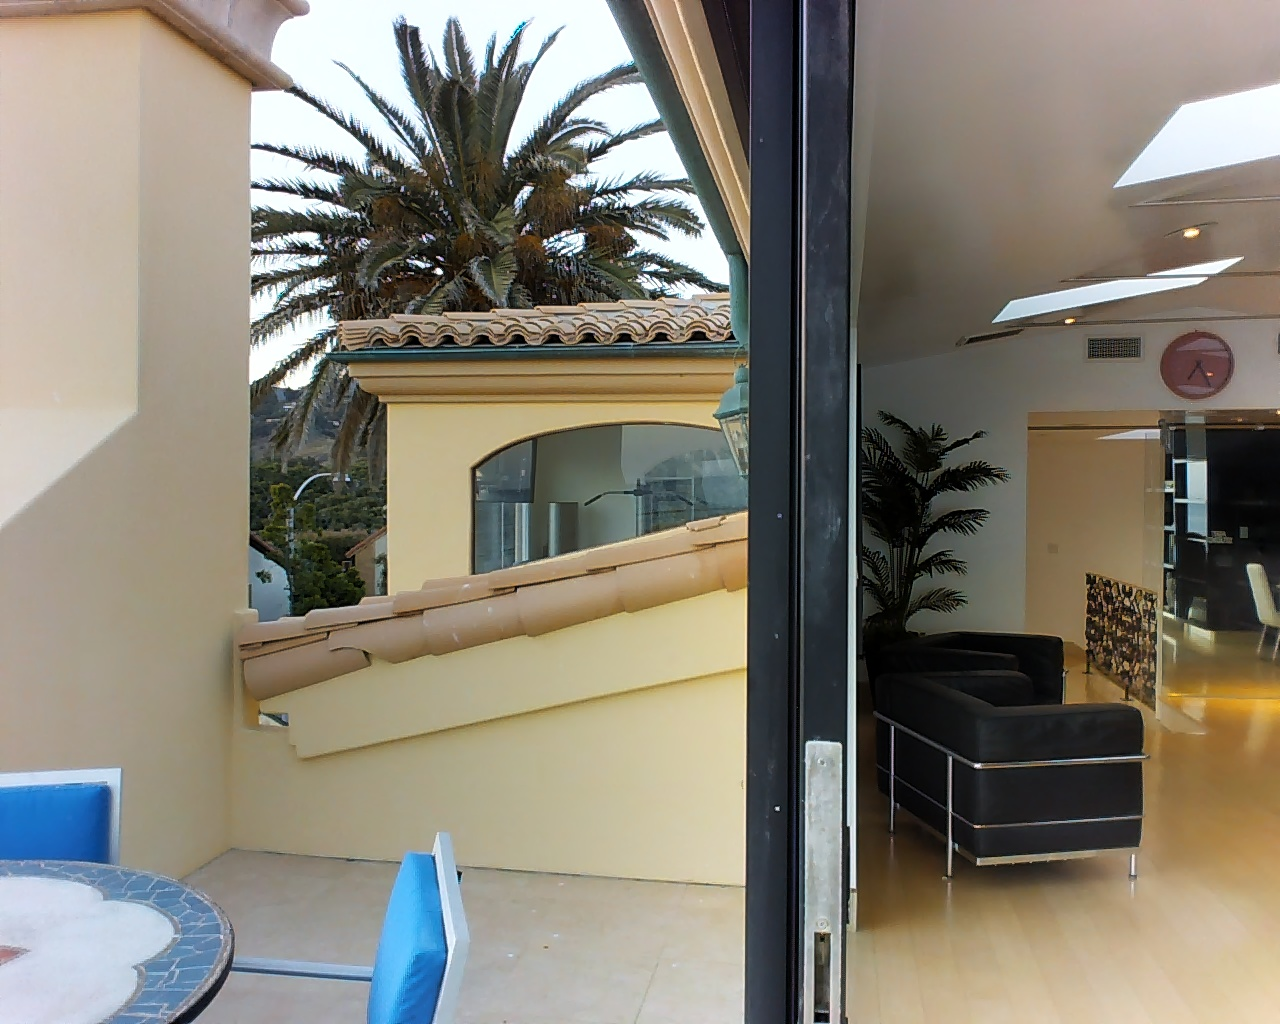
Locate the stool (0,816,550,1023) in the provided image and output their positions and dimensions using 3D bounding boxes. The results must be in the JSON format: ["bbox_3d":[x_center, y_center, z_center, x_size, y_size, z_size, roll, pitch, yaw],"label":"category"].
[{"bbox_3d":[-0.580,1.050,1.910,0.790,0.800,0.600,-1,1,-10],"label":"stool"}]
